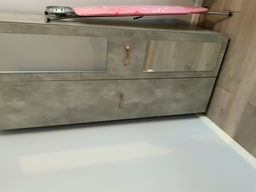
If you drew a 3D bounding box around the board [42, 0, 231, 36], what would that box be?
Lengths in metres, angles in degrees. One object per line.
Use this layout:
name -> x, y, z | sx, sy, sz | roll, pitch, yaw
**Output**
board -> 0.090, -0.670, 1.740 | 0.430, 1.440, 0.160 | -120, 34, -58
